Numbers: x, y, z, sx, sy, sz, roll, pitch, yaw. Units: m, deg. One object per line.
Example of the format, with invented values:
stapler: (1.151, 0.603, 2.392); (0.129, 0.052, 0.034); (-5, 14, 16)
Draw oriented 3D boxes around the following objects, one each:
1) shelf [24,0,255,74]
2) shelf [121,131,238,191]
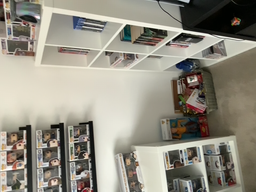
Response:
shelf: (0.070, -0.510, 1.540); (0.820, 1.450, 0.440); (-22, 71, 60)
shelf: (0.450, 1.050, 1.620); (0.420, 0.760, 1.460); (-20, 74, 61)
